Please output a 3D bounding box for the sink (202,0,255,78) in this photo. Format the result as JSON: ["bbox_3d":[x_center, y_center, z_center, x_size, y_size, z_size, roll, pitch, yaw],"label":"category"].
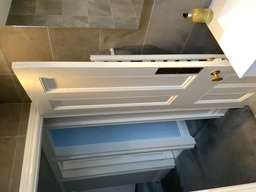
[{"bbox_3d":[0.610,-0.470,0.980,0.620,0.110,0.490,105,159,-54],"label":"sink"}]
